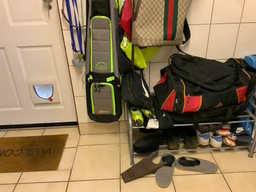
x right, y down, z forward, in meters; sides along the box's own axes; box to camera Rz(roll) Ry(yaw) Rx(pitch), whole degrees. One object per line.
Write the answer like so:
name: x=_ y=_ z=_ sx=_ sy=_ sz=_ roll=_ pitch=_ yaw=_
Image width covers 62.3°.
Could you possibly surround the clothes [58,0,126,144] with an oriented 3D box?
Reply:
clothes: x=-0.200 y=-0.200 z=1.400 sx=0.330 sy=1.150 sz=0.190 roll=-4 pitch=29 yaw=-4
